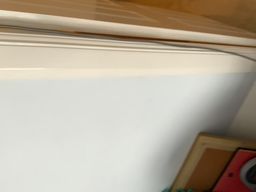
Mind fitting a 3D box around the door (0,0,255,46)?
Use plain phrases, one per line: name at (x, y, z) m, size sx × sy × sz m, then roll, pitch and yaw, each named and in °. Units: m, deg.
door at (-0.040, -0.400, 0.980) m, size 0.770 × 1.830 × 0.020 m, roll 46°, pitch 131°, yaw 44°
